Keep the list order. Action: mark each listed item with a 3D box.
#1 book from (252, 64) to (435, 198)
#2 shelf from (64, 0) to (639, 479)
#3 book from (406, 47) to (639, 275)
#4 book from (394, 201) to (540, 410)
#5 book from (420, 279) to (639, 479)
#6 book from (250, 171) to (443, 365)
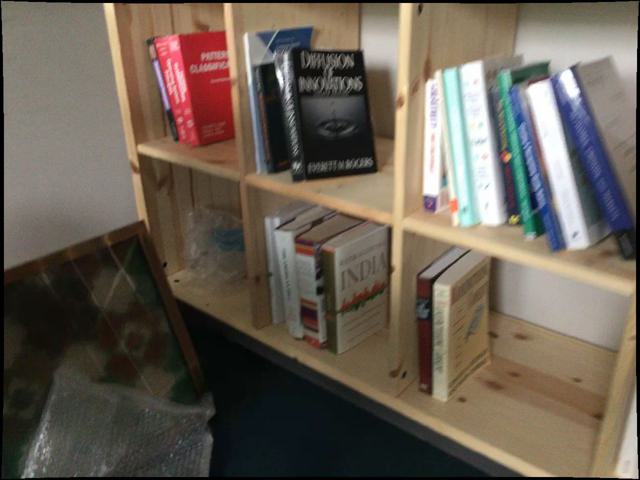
[{"bbox_3d":[0.060,-0.231,1.140,0.160,0.140,0.370,20,36,34],"label":"book"},{"bbox_3d":[0.239,-0.050,1.070,1.538,0.872,0.480,20,36,34],"label":"shelf"},{"bbox_3d":[0.319,-0.140,0.870,0.270,0.220,0.260,20,36,34],"label":"book"},{"bbox_3d":[0.289,0.110,1.120,0.100,0.240,0.370,20,36,34],"label":"book"},{"bbox_3d":[0.409,0.231,1.060,0.310,0.080,0.340,20,36,34],"label":"book"},{"bbox_3d":[0.070,0.040,1.270,0.230,0.230,0.370,20,36,34],"label":"book"}]
